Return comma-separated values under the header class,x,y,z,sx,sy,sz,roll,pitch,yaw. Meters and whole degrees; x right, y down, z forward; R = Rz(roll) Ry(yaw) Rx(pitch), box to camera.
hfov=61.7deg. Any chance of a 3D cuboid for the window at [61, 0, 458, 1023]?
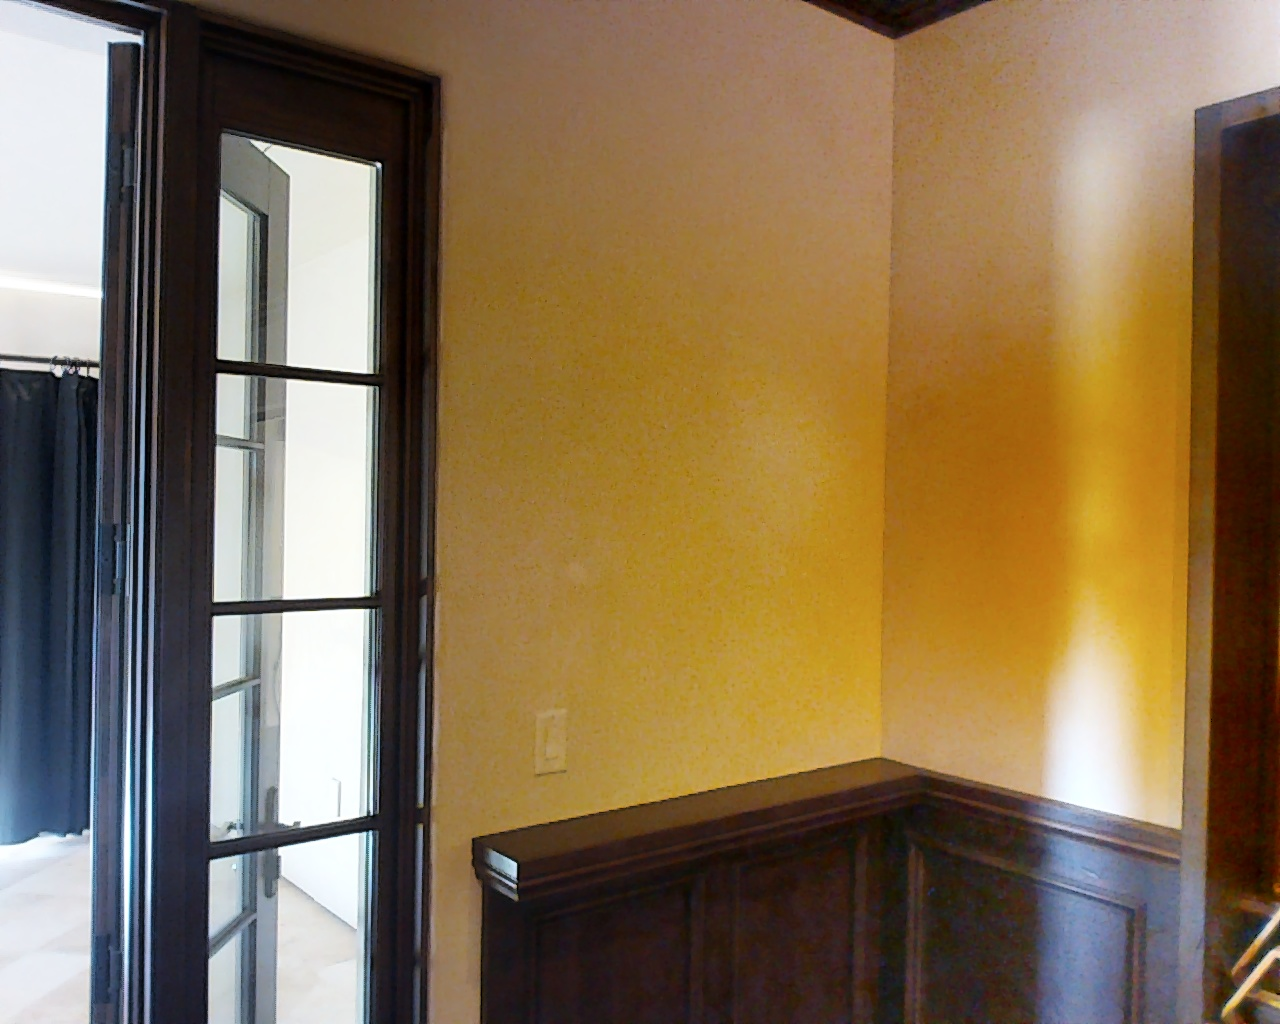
class,x,y,z,sx,sy,sz,roll,pitch,yaw
window,-0.680,0.390,1.900,0.530,2.370,0.400,1,0,-38
